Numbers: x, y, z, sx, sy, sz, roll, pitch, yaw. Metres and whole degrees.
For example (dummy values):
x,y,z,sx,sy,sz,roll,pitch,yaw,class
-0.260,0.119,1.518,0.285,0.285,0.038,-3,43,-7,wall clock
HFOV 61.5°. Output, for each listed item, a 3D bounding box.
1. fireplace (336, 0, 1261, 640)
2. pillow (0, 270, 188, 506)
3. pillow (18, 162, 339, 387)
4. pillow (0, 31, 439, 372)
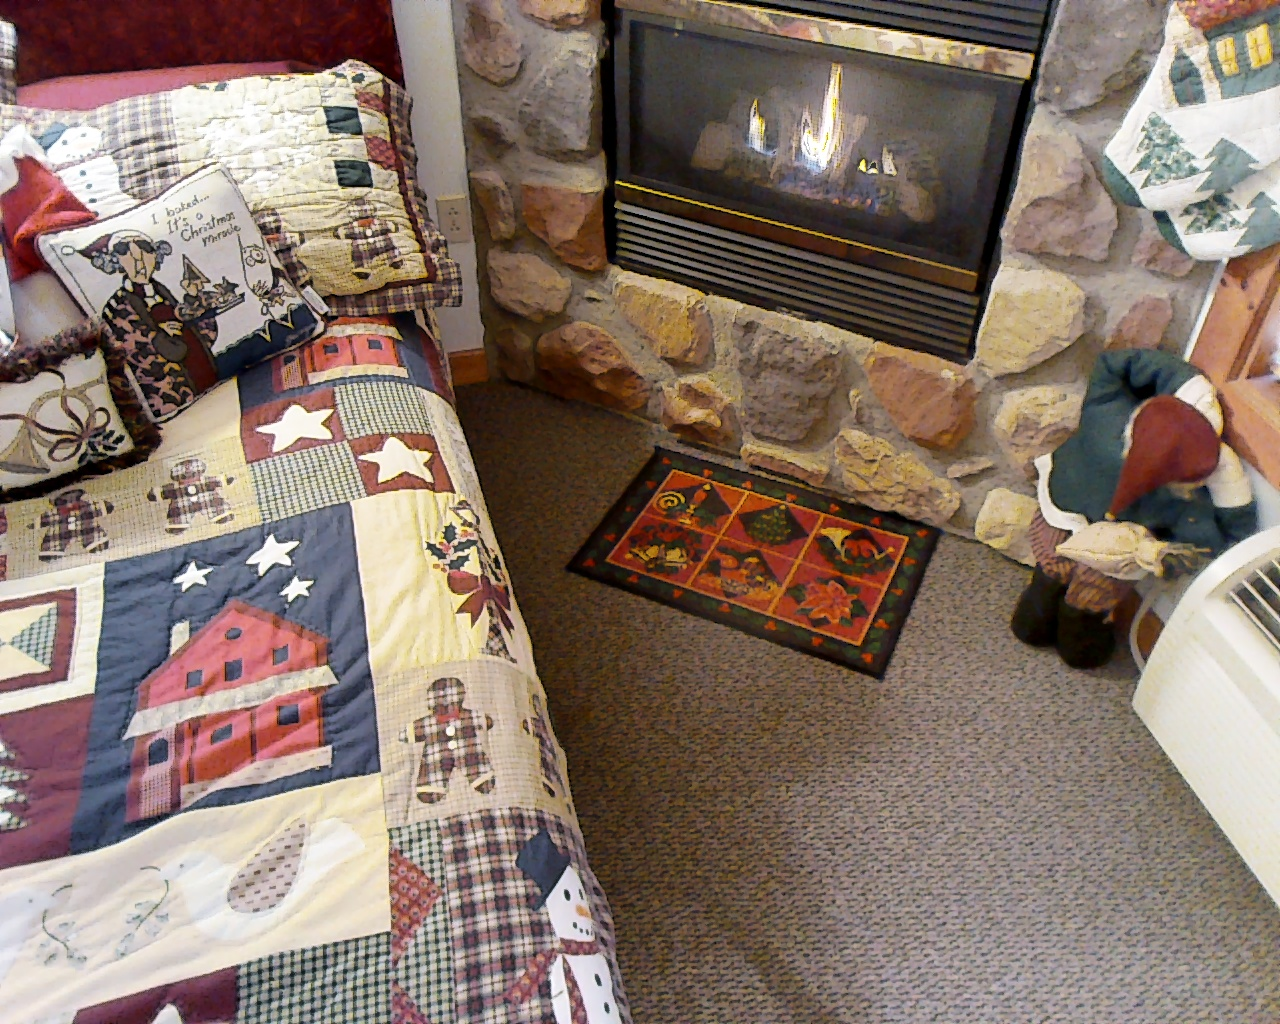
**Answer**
x,y,z,sx,sy,sz,roll,pitch,yaw,class
0.290,-0.970,1.950,1.480,2.000,0.810,20,45,20,fireplace
-0.760,-0.150,1.350,0.290,0.180,0.140,-29,50,-29,pillow
-0.640,-0.320,1.520,0.090,0.290,0.340,47,25,14,pillow
-0.700,-0.510,1.700,0.670,0.290,0.450,-10,43,-12,pillow
